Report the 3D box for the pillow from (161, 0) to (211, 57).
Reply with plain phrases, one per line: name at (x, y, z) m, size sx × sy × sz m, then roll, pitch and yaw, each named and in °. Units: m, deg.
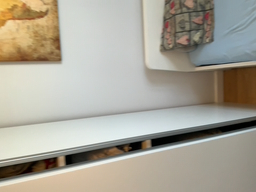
pillow at (0.360, -0.570, 1.320) m, size 0.160 × 0.240 × 0.640 m, roll -154°, pitch 63°, yaw -71°
